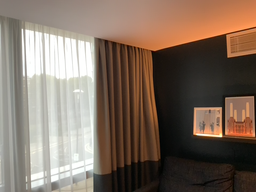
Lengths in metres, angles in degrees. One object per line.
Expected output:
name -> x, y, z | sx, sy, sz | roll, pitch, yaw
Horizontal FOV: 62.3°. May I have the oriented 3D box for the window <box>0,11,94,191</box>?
window -> -0.890, 0.520, 1.890 | 1.360, 2.440, 0.060 | 0, -2, -45
